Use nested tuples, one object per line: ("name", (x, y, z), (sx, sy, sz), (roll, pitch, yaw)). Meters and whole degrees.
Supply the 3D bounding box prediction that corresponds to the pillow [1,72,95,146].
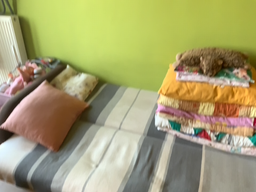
("pillow", (-0.600, 0.060, 1.770), (0.400, 0.200, 0.720), (8, 31, 10))
